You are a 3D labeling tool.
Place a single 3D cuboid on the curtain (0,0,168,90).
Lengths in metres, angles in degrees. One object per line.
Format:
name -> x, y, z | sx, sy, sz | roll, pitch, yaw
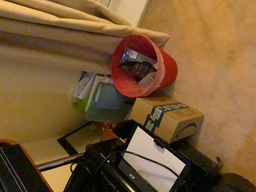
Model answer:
curtain -> -0.610, -0.200, 0.350 | 0.180, 2.350, 0.330 | 32, 110, 32
